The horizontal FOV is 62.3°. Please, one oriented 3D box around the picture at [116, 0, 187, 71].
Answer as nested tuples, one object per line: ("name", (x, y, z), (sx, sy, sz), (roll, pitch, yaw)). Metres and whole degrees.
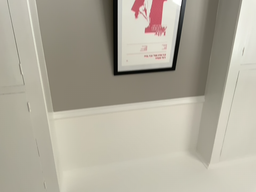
("picture", (0.180, -0.520, 1.650), (0.530, 0.620, 0.060), (-6, -155, -13))
